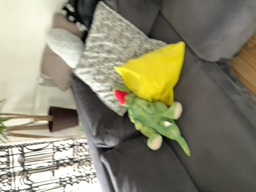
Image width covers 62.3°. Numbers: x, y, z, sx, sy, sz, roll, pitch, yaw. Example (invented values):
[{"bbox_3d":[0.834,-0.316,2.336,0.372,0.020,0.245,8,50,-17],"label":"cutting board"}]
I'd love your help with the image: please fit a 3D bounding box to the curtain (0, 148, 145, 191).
[{"bbox_3d":[-1.060,0.890,2.020,0.320,2.770,0.200,62,138,36],"label":"curtain"}]
